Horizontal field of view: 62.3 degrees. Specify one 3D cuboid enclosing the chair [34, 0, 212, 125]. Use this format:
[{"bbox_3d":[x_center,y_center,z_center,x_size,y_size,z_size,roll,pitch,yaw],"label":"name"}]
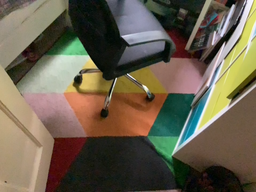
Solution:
[{"bbox_3d":[-0.080,-0.390,1.210,0.650,0.900,0.600,-27,68,-18],"label":"chair"}]
